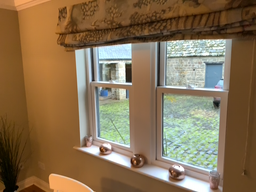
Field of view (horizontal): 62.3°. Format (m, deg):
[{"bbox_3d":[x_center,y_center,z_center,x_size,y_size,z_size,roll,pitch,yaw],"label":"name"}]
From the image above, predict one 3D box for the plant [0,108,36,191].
[{"bbox_3d":[-1.390,0.740,2.370,0.240,1.110,0.530,6,12,33],"label":"plant"}]
